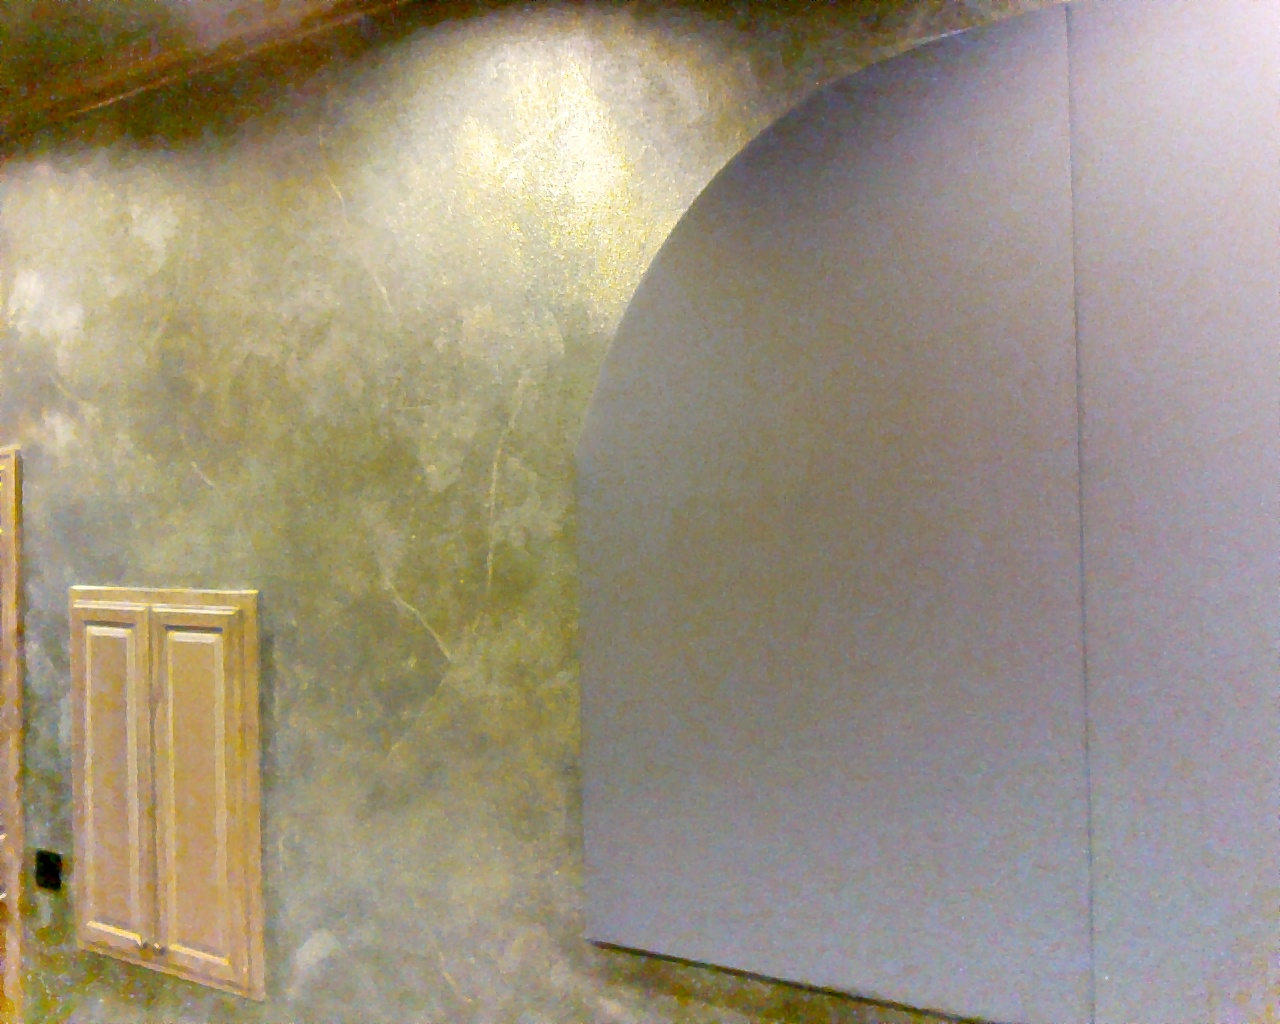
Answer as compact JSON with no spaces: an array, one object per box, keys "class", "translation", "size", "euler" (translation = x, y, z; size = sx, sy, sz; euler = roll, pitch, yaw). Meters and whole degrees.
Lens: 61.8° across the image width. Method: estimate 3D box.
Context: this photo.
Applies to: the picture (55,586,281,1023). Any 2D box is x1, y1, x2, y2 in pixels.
[{"class":"picture","translation":[-1.370,0.810,3.060],"size":[0.840,1.190,0.080],"euler":[-2,-1,29]}]
